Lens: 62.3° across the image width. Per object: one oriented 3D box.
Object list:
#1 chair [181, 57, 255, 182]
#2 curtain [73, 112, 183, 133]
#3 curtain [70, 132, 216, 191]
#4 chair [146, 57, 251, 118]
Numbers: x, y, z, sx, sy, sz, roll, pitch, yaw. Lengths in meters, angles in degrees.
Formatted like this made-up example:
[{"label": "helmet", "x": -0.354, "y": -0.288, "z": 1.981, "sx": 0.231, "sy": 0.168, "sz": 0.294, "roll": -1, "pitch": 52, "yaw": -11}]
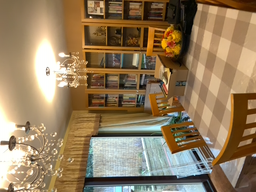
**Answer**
[{"label": "chair", "x": 0.940, "y": 0.080, "z": 1.290, "sx": 0.640, "sy": 1.000, "sz": 0.480, "roll": -103, "pitch": 15, "yaw": -67}, {"label": "curtain", "x": 0.010, "y": 0.480, "z": 3.940, "sx": 0.310, "sy": 1.950, "sz": 0.240, "roll": -100, "pitch": 12, "yaw": -62}, {"label": "curtain", "x": 0.180, "y": 1.140, "z": 3.250, "sx": 1.820, "sy": 1.970, "sz": 0.100, "roll": -101, "pitch": 12, "yaw": -63}, {"label": "chair", "x": 0.800, "y": -0.090, "z": 2.620, "sx": 0.420, "sy": 1.020, "sz": 0.620, "roll": -96, "pitch": 9, "yaw": -48}]
